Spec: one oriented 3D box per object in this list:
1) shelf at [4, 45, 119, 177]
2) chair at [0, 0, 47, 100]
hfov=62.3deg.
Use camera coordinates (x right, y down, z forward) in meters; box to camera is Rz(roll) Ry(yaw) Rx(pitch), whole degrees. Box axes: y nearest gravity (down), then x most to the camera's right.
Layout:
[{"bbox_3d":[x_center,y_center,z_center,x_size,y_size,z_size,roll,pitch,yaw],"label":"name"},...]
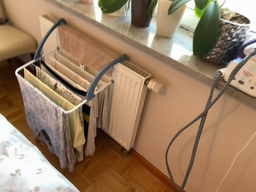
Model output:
[{"bbox_3d":[-0.430,0.080,1.430,0.570,0.560,0.400,37,47,27],"label":"shelf"},{"bbox_3d":[-1.120,-0.580,1.760,0.700,0.930,0.430,34,46,25],"label":"chair"}]
